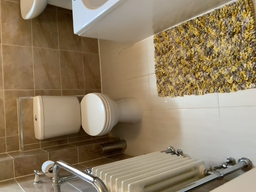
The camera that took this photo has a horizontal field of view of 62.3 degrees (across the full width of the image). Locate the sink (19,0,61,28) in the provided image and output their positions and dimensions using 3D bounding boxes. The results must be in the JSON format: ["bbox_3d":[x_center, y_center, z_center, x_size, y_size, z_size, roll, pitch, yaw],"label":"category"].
[{"bbox_3d":[-0.750,-0.880,1.750,0.530,0.180,0.440,-6,87,52],"label":"sink"}]
